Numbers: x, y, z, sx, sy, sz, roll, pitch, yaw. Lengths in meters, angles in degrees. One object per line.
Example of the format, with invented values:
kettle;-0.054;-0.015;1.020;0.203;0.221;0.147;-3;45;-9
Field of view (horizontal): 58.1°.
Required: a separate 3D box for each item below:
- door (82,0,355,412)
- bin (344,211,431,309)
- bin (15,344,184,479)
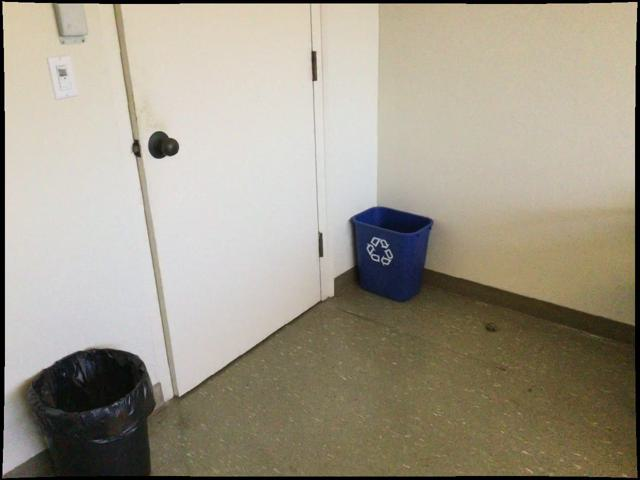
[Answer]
door;-0.269;-0.391;2.240;0.100;1.844;1.099;15;30;37
bin;0.339;0.090;2.870;0.340;0.351;0.250;15;30;37
bin;-0.688;0.612;1.830;0.330;0.371;0.310;15;30;37
